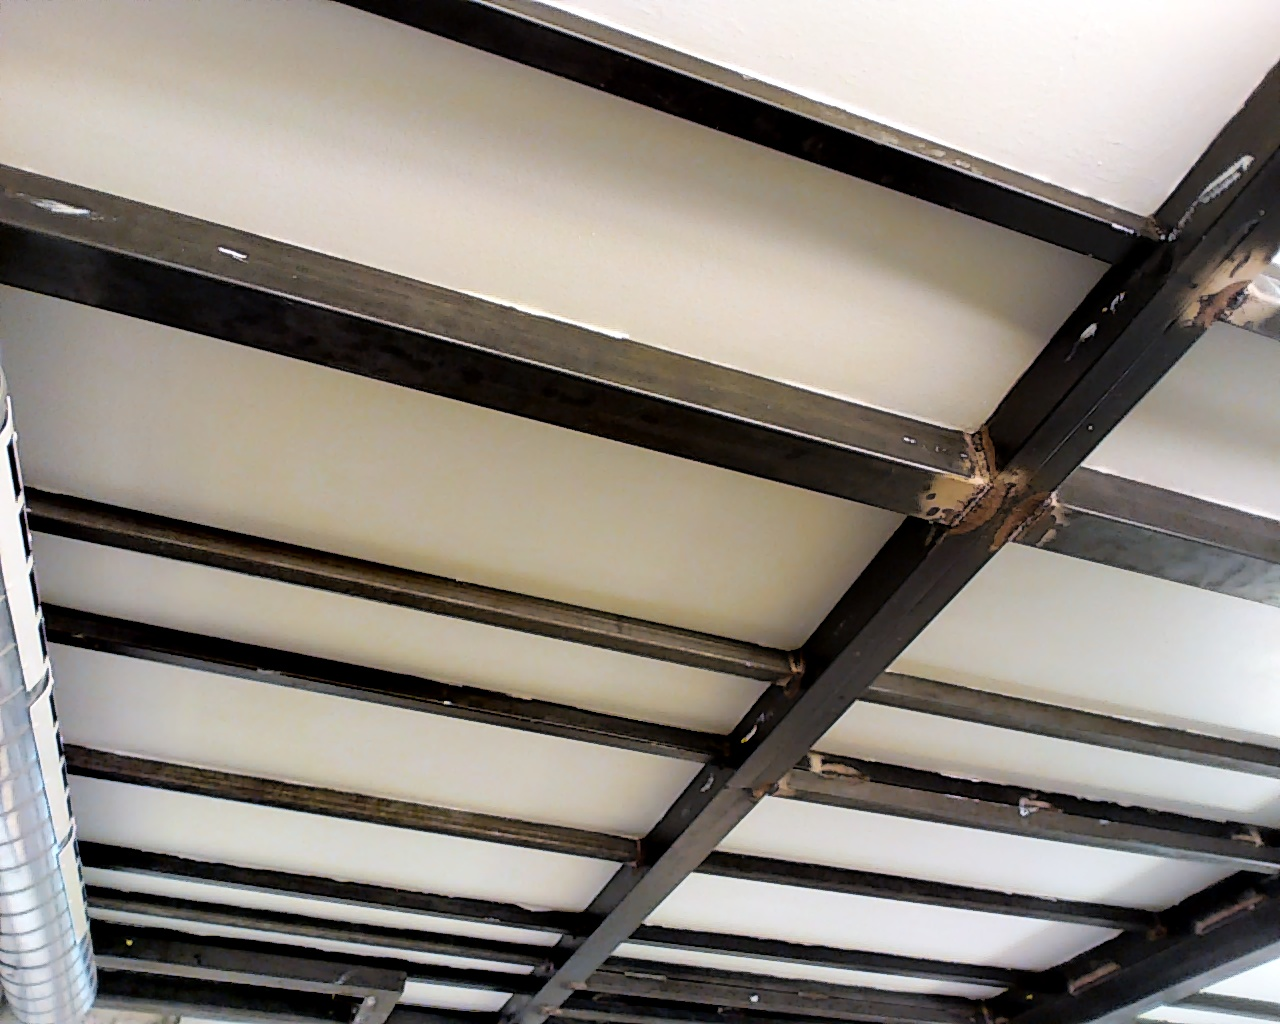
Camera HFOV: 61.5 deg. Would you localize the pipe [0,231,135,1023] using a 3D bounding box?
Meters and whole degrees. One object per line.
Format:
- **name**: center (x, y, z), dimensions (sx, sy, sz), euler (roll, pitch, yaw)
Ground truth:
- **pipe**: center (-1.200, 0.630, 2.090), dimensions (0.250, 0.240, 2.810), euler (12, -41, -13)
